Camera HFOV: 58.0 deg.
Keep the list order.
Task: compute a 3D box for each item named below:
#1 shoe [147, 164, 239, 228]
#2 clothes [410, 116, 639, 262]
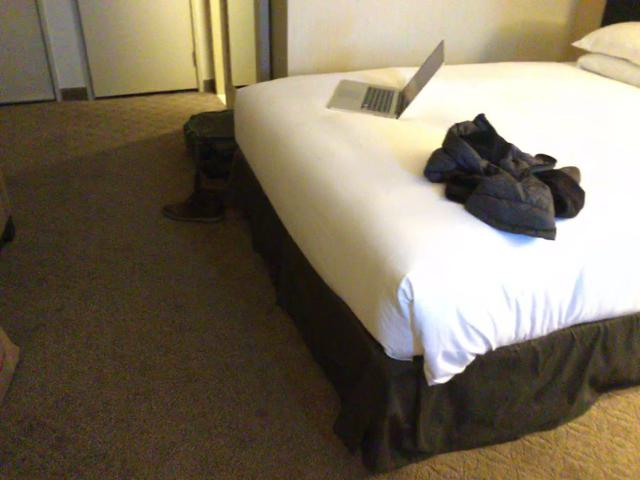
[{"bbox_3d":[-0.590,-0.220,2.760,0.390,0.150,0.440,-2,25,-8],"label":"shoe"},{"bbox_3d":[0.500,-0.150,1.430,0.390,0.210,0.390,-8,26,-20],"label":"clothes"}]
